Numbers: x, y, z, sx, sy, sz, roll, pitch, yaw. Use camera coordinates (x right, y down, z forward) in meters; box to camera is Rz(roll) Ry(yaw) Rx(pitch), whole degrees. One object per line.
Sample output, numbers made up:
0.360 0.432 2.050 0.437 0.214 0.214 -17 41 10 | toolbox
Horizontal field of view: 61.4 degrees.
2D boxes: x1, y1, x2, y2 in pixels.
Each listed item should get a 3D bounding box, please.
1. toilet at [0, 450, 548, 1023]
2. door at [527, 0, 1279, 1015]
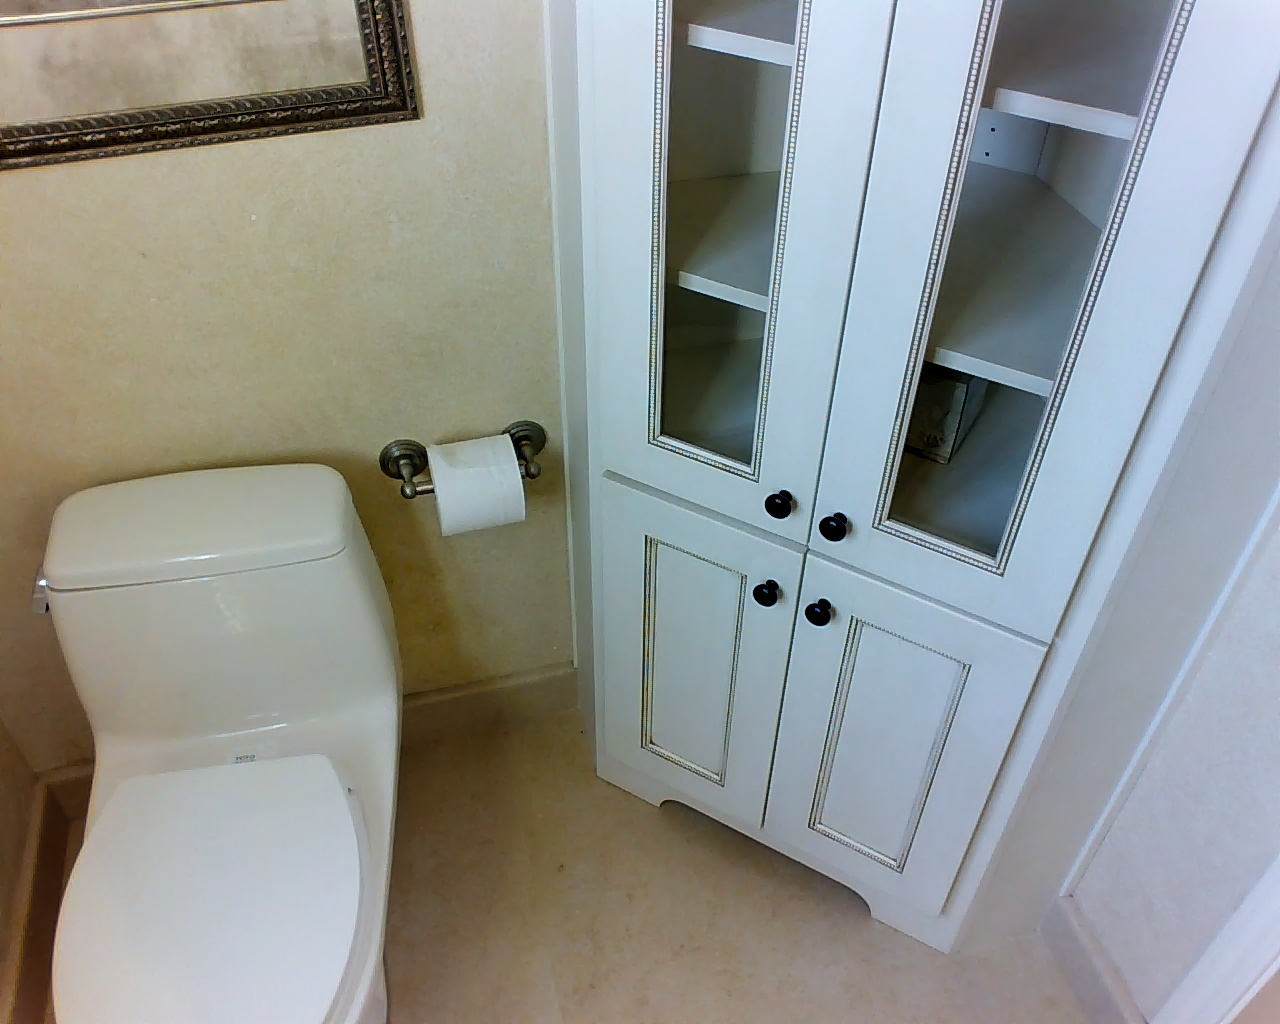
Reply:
-0.530 0.450 1.380 0.720 0.550 0.780 -10 -47 -11 | toilet
0.220 -0.120 1.100 0.060 0.730 1.940 -47 -30 -39 | door
